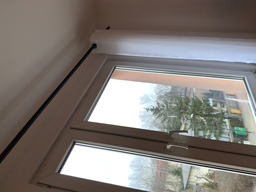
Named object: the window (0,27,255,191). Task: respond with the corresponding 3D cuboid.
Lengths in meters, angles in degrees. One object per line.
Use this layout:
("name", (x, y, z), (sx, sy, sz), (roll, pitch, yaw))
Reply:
("window", (0.360, -0.080, 1.740), (2.100, 1.670, 0.110), (-70, -17, -49))
